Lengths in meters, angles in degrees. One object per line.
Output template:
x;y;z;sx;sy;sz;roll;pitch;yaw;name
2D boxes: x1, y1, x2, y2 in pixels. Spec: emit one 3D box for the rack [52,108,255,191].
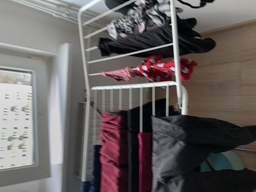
0.190;0.530;1.140;0.810;0.880;0.890;-1;86;47;rack
